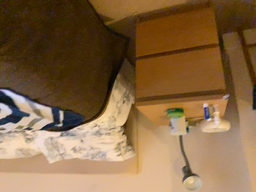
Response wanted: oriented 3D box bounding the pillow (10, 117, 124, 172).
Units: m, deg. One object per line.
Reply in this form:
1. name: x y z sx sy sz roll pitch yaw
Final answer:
1. pillow: -0.420 0.350 1.500 0.700 0.410 0.110 -4 -144 19
